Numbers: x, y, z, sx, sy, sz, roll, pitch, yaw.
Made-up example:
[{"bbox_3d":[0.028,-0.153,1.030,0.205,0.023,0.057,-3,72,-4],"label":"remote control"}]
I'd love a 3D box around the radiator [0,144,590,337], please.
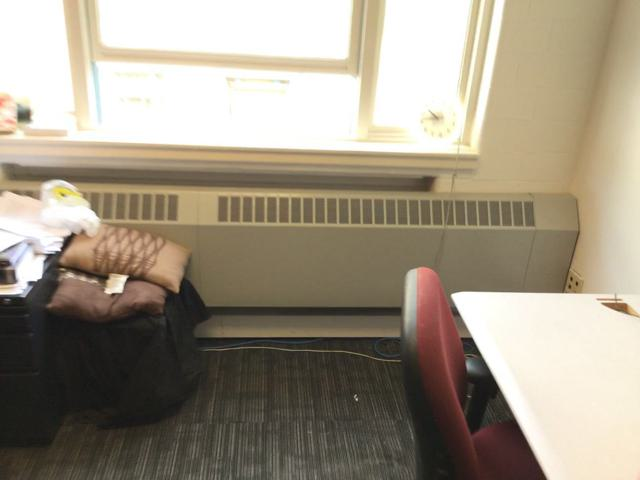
[{"bbox_3d":[-0.480,0.010,2.380,3.080,0.660,0.350,2,20,-8],"label":"radiator"}]

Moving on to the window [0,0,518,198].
[{"bbox_3d":[-0.340,-0.620,2.270,2.080,0.770,0.300,2,20,-8],"label":"window"}]

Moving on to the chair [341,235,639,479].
[{"bbox_3d":[0.400,0.550,1.470,0.590,0.910,0.580,10,20,13],"label":"chair"}]
